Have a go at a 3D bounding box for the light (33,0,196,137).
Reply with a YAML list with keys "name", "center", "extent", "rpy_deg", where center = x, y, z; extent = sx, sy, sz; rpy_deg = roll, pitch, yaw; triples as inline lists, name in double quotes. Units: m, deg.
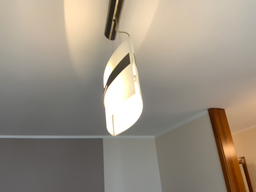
- name: "light"
  center: [-0.050, -0.160, 0.960]
  extent: [0.500, 0.270, 0.420]
  rpy_deg: [34, -115, 5]
